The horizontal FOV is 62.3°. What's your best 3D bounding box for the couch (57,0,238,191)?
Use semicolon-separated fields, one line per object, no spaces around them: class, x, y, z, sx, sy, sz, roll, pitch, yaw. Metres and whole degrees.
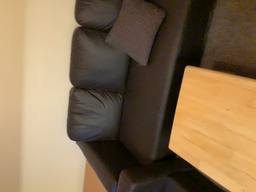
couch;0.080;-0.250;1.800;0.790;0.990;1.770;35;119;50
